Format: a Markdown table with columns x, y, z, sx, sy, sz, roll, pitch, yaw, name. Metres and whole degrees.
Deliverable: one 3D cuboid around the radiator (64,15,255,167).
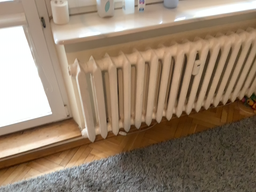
| x | y | z | sx | sy | sz | roll | pitch | yaw | name |
| --- | --- | --- | --- | --- | --- | --- | --- | --- | --- |
| 0.430 | -0.060 | 1.490 | 1.550 | 0.810 | 0.180 | -15 | 44 | -17 | radiator |
